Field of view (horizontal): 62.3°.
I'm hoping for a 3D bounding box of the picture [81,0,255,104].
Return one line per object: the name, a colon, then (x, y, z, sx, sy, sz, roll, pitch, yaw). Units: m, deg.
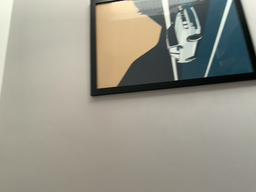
picture: (0.150, -0.330, 1.040, 0.030, 0.770, 0.680, 66, -161, -70)
